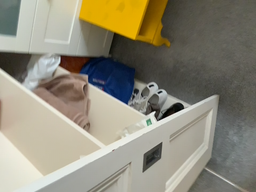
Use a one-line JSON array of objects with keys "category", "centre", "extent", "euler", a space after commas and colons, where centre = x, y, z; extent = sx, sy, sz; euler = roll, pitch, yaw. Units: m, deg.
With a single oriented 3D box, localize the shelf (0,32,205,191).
[{"category": "shelf", "centre": [-0.630, 0.040, 0.640], "extent": [1.120, 2.130, 0.290], "euler": [28, 111, 28]}]
